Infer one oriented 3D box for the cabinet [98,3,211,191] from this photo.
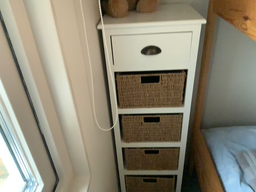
[{"bbox_3d":[0.130,0.130,1.200,0.400,1.150,0.320,-1,33,4],"label":"cabinet"}]
